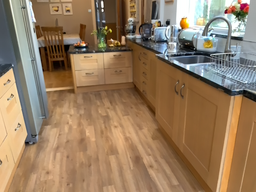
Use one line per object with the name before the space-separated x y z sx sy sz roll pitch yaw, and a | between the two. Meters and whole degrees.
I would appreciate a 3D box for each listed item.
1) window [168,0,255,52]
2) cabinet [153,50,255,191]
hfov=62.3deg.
window | 0.940 -1.350 2.590 0.210 1.330 1.710 -5 22 -10
cabinet | 0.760 0.150 1.920 0.690 0.900 1.190 -5 22 -11
